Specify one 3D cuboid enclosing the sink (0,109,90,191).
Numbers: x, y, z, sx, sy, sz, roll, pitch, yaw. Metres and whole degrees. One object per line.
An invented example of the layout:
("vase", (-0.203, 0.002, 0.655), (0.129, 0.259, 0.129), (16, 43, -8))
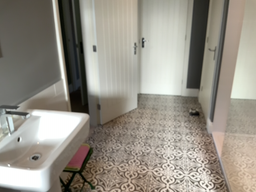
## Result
("sink", (-0.500, 0.290, 1.130), (0.400, 0.200, 0.590), (3, 21, 10))
